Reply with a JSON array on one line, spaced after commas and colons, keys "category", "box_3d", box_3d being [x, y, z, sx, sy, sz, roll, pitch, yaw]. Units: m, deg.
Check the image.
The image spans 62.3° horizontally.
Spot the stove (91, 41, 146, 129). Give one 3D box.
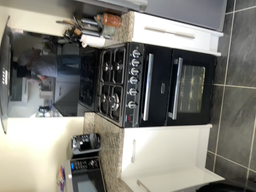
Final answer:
[{"category": "stove", "box_3d": [-0.110, -0.110, 1.700, 0.640, 0.130, 0.580, 17, 103, 61]}]

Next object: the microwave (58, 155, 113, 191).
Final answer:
[{"category": "microwave", "box_3d": [-0.340, 0.820, 1.670, 0.480, 0.290, 0.490, -63, 37, 39]}]
